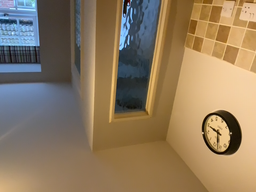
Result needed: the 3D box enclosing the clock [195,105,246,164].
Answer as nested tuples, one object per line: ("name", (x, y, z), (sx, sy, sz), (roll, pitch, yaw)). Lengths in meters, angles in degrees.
("clock", (0.560, 0.230, 1.320), (0.100, 0.260, 0.240), (-2, -154, -18))
